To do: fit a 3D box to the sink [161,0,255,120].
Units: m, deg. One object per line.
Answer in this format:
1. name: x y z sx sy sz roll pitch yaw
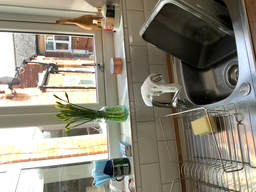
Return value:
1. sink: 0.370 -0.170 0.910 0.520 0.190 0.490 148 118 -70
